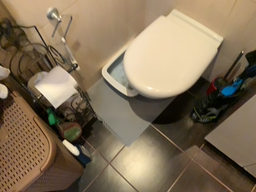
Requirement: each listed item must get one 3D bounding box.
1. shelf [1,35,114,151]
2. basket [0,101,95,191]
[{"bbox_3d":[-0.280,0.040,1.060,0.270,0.600,0.250,35,72,16],"label":"shelf"},{"bbox_3d":[-0.390,0.310,0.980,0.230,0.590,0.300,36,72,16],"label":"basket"}]
